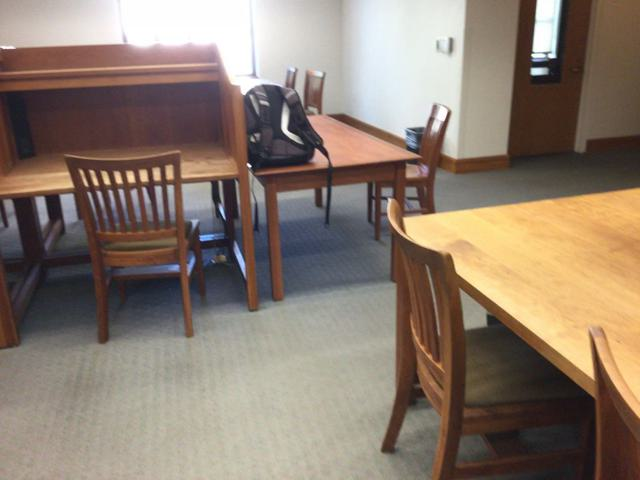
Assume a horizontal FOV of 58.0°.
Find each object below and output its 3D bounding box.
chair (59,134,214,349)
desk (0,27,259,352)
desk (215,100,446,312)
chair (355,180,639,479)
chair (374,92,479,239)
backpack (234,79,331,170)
[{"bbox_3d":[-0.870,-0.020,2.850,0.580,0.890,0.520,-5,20,-14],"label":"chair"},{"bbox_3d":[-1.070,-0.360,3.020,1.290,1.400,1.010,-5,20,-14],"label":"desk"},{"bbox_3d":[-0.070,-0.360,3.770,1.140,0.880,1.750,-3,20,-9],"label":"desk"},{"bbox_3d":[0.480,0.350,1.750,0.570,0.910,0.590,-6,20,-15],"label":"chair"},{"bbox_3d":[0.690,-0.530,3.960,0.600,0.890,0.580,1,20,3],"label":"chair"},{"bbox_3d":[-0.200,-0.610,2.990,0.410,0.390,0.420,-5,20,-14],"label":"backpack"}]
